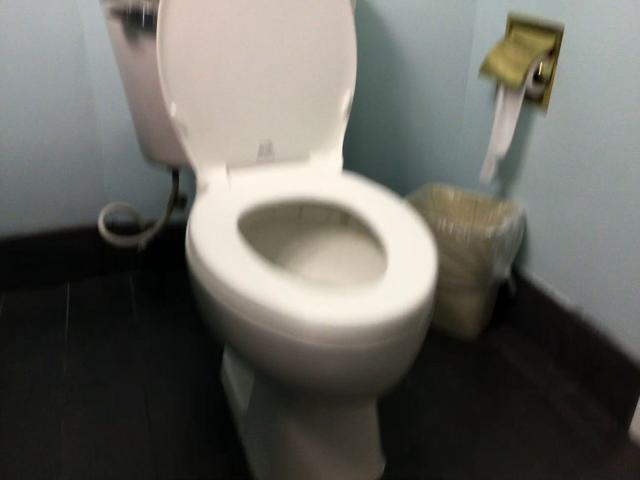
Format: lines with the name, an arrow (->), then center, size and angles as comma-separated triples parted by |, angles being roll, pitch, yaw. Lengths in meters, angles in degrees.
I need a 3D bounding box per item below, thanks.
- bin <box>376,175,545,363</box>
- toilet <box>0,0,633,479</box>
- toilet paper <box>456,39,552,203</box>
bin -> 0.290, 0.050, 1.280 | 0.230, 0.280, 0.280 | -11, 28, -17
toilet -> -0.090, -0.100, 0.980 | 0.590, 0.840, 0.820 | -11, 28, -17
toilet paper -> 0.360, -0.240, 1.160 | 0.090, 0.290, 0.140 | -11, 28, -17
